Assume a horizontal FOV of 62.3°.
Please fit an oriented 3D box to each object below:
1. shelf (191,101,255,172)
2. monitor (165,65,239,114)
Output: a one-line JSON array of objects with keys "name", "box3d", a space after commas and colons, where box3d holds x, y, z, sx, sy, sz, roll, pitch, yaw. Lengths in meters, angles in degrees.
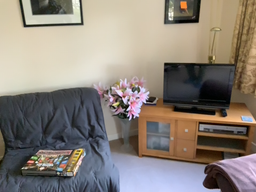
[{"name": "shelf", "box3d": [0.990, 0.410, 2.280, 0.540, 0.540, 0.450, 4, 22, 14]}, {"name": "monitor", "box3d": [0.720, -0.070, 2.160, 0.660, 0.460, 0.070, 5, 23, 15]}]
